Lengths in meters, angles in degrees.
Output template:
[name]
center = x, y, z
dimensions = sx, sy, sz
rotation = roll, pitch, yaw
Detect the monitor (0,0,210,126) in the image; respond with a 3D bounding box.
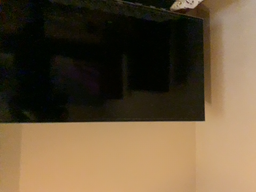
[monitor]
center = -0.040, -0.200, 1.160
dimensions = 1.160, 0.690, 0.080
rotation = 2, 176, -22
